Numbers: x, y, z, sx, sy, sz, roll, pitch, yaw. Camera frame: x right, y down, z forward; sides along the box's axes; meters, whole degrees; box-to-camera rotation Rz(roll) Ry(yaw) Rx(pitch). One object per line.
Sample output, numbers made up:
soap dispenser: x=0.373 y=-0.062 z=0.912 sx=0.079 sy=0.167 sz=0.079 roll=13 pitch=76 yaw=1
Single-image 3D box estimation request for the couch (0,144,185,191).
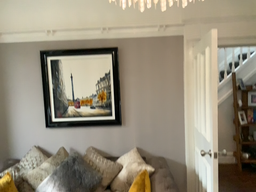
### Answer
couch: x=-0.590 y=1.080 z=2.190 sx=2.130 sy=0.830 sz=1.070 roll=-2 pitch=4 yaw=5
